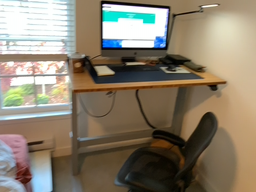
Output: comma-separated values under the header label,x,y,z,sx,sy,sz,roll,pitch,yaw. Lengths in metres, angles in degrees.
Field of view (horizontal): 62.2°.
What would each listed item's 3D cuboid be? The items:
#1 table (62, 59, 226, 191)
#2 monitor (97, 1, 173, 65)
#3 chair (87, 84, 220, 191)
label,x,y,z,sx,sy,sz,roll,pitch,yaw
table,0.050,0.260,2.070,1.240,1.080,0.780,-4,24,-20
monitor,0.060,-0.520,1.870,0.620,0.490,0.040,-1,28,-23
chair,0.190,0.530,1.620,0.680,0.950,0.740,15,25,23
